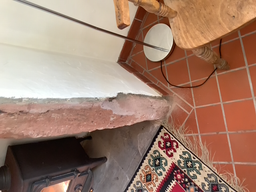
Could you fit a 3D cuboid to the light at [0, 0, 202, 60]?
[{"bbox_3d":[-0.150,-0.450,1.070,0.270,1.520,0.270,40,117,37],"label":"light"}]
